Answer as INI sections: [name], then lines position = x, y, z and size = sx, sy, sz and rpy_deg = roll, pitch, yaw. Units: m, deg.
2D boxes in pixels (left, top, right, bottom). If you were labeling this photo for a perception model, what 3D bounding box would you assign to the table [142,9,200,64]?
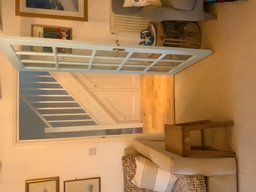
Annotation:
[table]
position = 0.490, -0.670, 2.520
size = 0.480, 0.500, 0.480
rpy_deg = -178, 88, -73
